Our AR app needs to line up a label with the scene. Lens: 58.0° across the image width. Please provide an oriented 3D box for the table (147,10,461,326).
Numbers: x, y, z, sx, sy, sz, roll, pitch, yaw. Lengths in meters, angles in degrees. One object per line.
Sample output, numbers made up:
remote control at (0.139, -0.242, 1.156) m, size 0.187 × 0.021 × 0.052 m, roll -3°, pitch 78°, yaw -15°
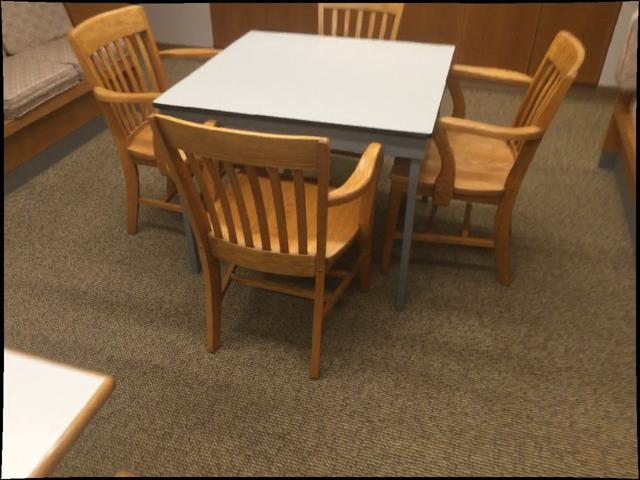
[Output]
table at (0.020, -0.351, 2.280) m, size 0.878 × 0.751 × 0.981 m, roll 9°, pitch 38°, yaw 12°
